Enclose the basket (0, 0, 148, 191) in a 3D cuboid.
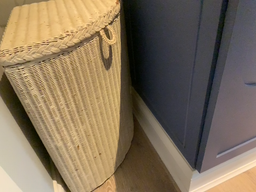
[{"bbox_3d":[-0.120,0.010,0.700,0.270,0.600,0.330,-12,40,-7],"label":"basket"}]
